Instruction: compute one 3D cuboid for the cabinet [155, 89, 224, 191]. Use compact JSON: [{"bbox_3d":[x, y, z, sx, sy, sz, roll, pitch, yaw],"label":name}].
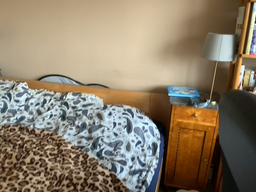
[{"bbox_3d":[0.500,0.420,1.840,0.400,0.850,0.400,8,20,13],"label":"cabinet"}]
